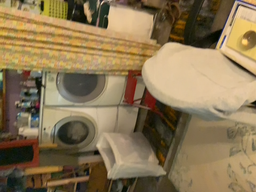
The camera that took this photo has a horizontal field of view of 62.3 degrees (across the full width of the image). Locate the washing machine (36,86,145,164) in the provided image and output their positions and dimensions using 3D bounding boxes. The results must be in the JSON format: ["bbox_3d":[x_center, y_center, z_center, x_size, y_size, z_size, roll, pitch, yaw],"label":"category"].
[{"bbox_3d":[-0.580,0.380,3.090,0.670,1.350,0.770,49,131,54],"label":"washing machine"}]
